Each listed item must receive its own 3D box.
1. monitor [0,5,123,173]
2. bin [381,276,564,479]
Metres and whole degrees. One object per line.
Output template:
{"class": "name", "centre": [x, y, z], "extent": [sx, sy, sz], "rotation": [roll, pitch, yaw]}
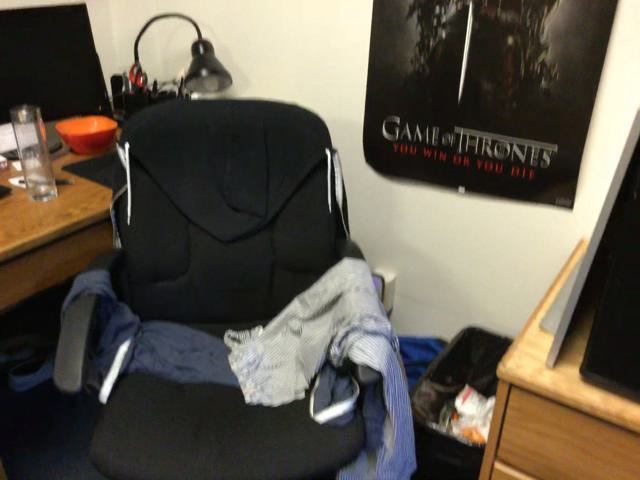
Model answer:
{"class": "monitor", "centre": [-0.880, -0.430, 1.600], "extent": [0.300, 0.380, 0.520], "rotation": [17, 29, 29]}
{"class": "bin", "centre": [0.380, 0.450, 1.460], "extent": [0.250, 0.530, 0.470], "rotation": [17, 29, 29]}
